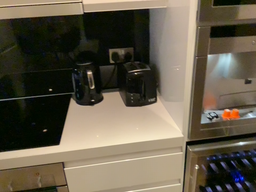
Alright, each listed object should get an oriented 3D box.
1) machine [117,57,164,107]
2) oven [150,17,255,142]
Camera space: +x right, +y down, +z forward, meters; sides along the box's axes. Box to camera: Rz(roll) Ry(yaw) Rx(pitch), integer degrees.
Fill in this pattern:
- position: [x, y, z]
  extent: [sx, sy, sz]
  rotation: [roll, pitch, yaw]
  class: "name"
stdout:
- position: [0.060, -0.090, 1.200]
  extent: [0.210, 0.180, 0.270]
  rotation: [-6, 25, -7]
  class: "machine"
- position: [0.520, -0.160, 1.120]
  extent: [0.670, 0.410, 0.650]
  rotation: [-6, 25, -6]
  class: "oven"
